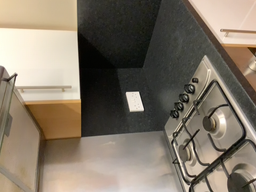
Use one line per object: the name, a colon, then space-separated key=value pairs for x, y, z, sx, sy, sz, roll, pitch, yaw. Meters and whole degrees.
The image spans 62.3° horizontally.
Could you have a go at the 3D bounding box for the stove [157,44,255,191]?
stove: x=0.280 y=0.230 z=0.800 sx=0.590 sy=0.030 sz=0.590 roll=105 pitch=158 yaw=-48
